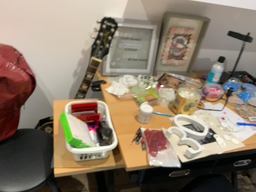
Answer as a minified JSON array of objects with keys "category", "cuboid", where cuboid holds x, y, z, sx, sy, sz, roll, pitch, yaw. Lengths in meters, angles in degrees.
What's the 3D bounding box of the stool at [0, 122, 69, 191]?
[{"category":"stool","cuboid":[-0.440,0.420,0.960,0.310,0.520,0.300,-1,36,-19]}]
